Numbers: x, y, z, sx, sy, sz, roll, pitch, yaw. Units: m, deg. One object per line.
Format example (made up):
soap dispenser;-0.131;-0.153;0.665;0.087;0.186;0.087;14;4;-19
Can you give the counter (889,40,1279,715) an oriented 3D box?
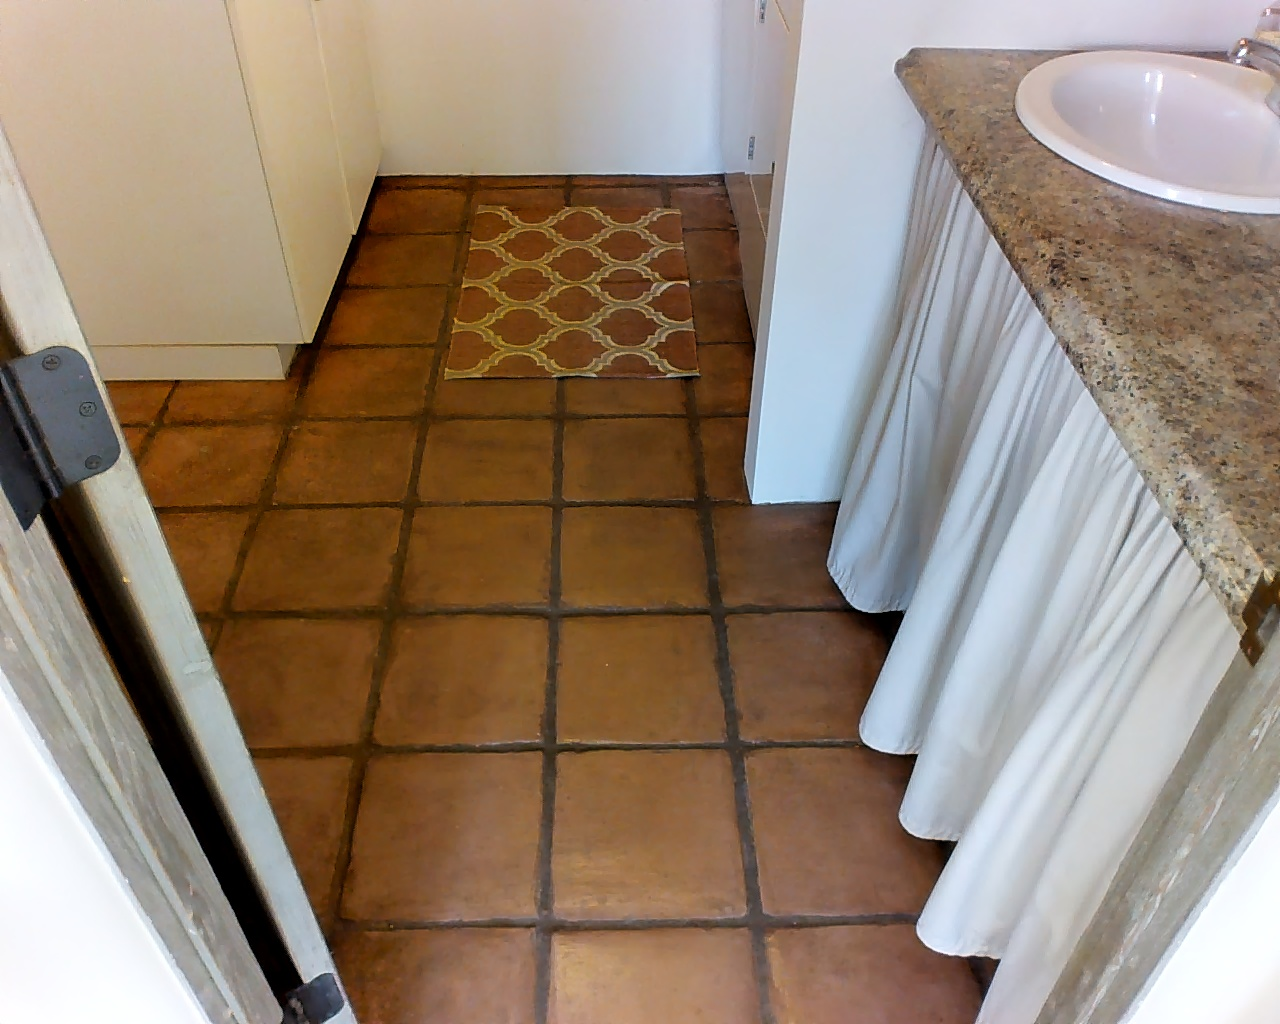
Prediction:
counter;0.740;-0.290;1.210;0.670;0.080;1.220;-1;41;-1

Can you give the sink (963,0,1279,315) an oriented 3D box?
sink;0.760;-0.490;1.440;0.500;0.270;0.400;-1;41;-1

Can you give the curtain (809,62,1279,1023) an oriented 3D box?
curtain;0.440;0.040;1.490;0.150;0.890;1.210;-1;41;-1
